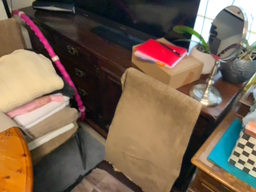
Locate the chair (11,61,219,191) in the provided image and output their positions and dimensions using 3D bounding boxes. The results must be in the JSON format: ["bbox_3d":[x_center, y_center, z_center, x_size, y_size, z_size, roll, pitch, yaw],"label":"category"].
[{"bbox_3d":[-0.050,0.440,1.050,0.550,1.000,0.440,-30,52,-32],"label":"chair"}]
